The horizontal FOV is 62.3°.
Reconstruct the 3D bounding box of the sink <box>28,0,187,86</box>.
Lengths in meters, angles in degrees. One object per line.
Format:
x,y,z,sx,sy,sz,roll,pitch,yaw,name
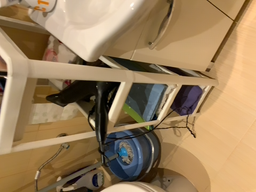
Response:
-0.030,-0.380,0.510,0.430,0.140,0.570,39,116,34,sink

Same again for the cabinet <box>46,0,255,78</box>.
0.180,-0.410,0.820,0.320,0.760,0.560,39,116,34,cabinet

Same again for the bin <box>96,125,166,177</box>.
0.020,0.330,1.340,0.300,0.290,0.240,-11,84,42,bin
